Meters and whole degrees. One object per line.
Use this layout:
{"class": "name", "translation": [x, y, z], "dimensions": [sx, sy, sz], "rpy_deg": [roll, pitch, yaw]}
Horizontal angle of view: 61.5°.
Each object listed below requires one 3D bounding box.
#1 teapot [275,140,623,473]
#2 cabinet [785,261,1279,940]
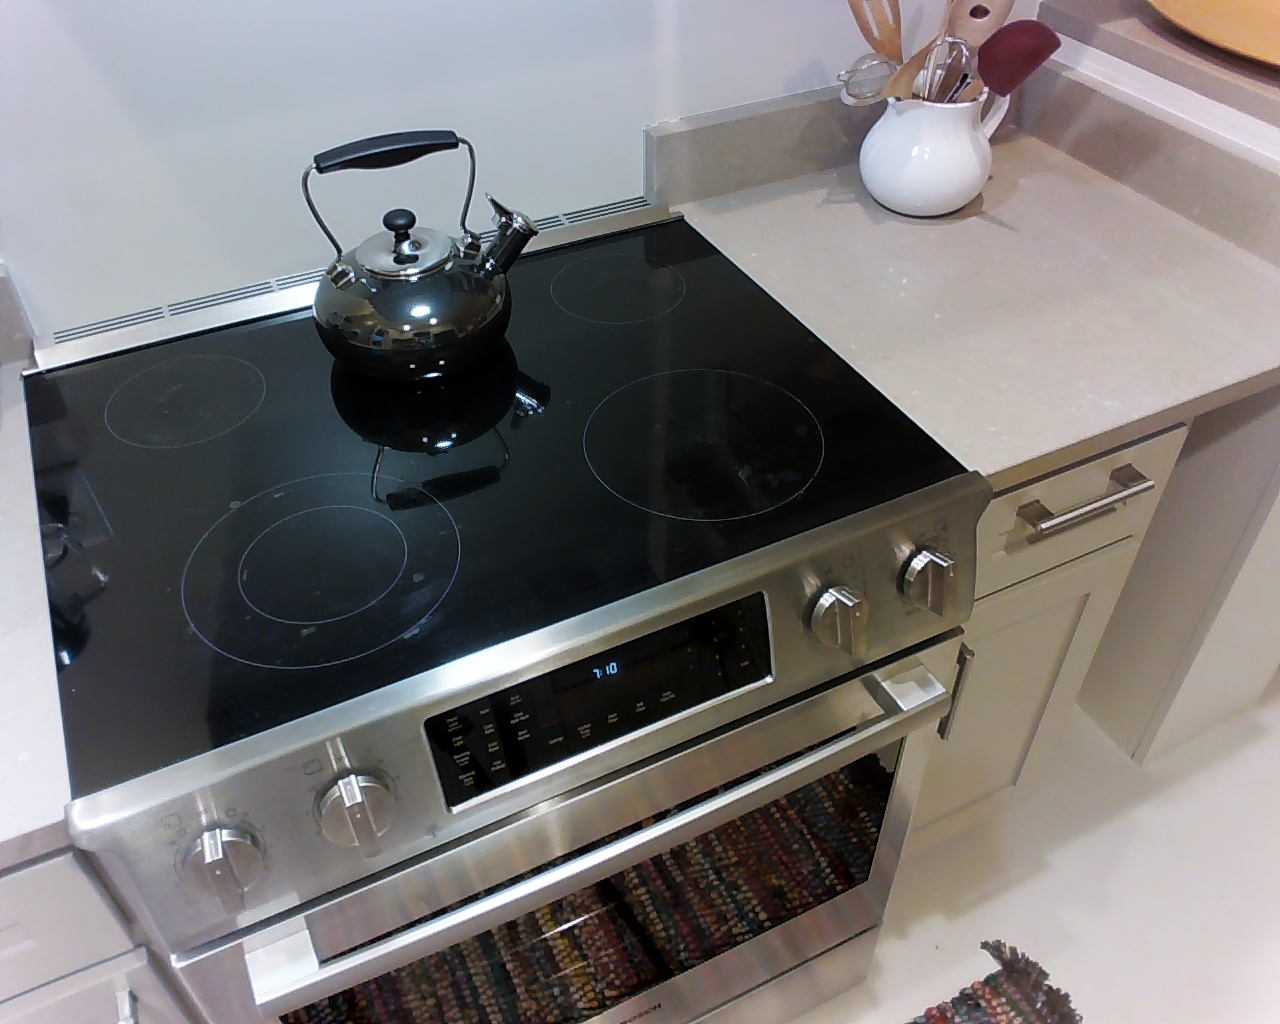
{"class": "teapot", "translation": [-0.200, -0.230, 1.150], "dimensions": [0.270, 0.190, 0.260], "rpy_deg": [-21, 46, -21]}
{"class": "cabinet", "translation": [0.490, 0.160, 1.510], "dimensions": [0.360, 0.870, 0.370], "rpy_deg": [-18, 45, -18]}
